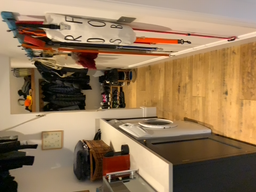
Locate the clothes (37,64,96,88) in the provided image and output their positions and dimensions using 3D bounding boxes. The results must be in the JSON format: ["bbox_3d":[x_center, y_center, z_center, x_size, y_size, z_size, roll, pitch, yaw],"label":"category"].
[{"bbox_3d":[-1.190,-0.360,4.030,1.170,0.930,0.380,-172,81,-69],"label":"clothes"}]

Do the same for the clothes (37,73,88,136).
[{"bbox_3d":[-1.390,0.150,4.540,0.300,0.970,1.270,-170,79,-69],"label":"clothes"}]
